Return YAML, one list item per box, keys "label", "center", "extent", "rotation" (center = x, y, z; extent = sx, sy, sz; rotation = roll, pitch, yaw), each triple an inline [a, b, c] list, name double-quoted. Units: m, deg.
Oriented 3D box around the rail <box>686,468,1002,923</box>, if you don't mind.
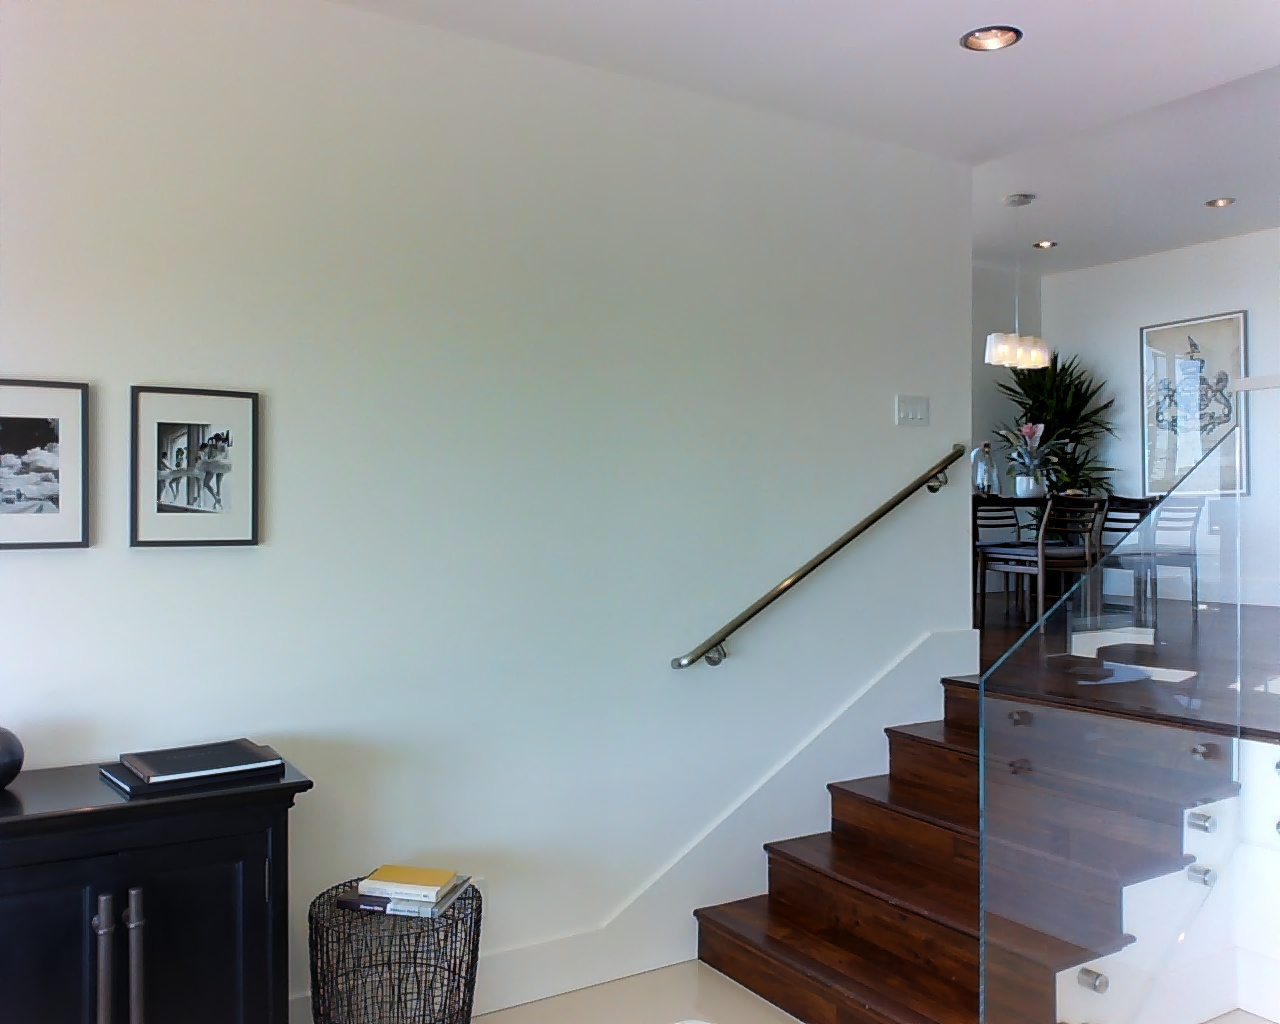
- label: "rail"
  center: [0.820, 0.620, 4.070]
  extent: [1.460, 1.540, 0.140]
  rotation: [0, 0, -31]
